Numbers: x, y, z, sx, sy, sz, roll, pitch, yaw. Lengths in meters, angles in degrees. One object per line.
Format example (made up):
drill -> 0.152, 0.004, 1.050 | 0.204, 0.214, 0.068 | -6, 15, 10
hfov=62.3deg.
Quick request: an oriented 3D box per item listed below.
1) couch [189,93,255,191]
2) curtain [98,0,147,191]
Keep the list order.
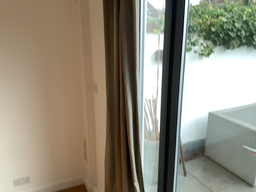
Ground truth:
couch -> 2.080, 0.460, 3.110 | 2.120, 0.720, 1.040 | -8, 17, -28
curtain -> -0.050, 0.130, 1.530 | 0.100, 2.130, 0.430 | -9, 17, -31
